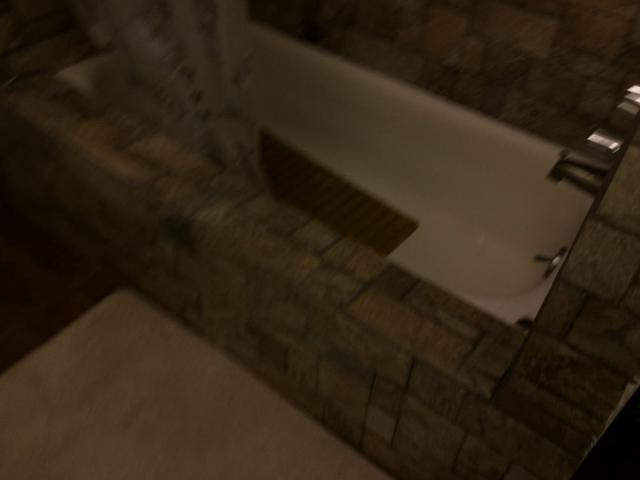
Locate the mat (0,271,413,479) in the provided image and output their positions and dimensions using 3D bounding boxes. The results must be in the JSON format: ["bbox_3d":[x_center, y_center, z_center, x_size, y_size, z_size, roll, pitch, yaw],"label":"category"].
[{"bbox_3d":[-0.360,0.470,1.220,0.940,0.050,0.610,29,49,25],"label":"mat"}]
